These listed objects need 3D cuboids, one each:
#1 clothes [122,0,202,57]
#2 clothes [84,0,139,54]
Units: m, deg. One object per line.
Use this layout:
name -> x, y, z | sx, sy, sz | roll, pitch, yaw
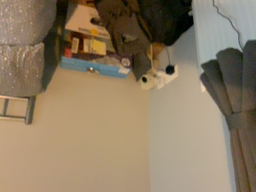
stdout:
clothes -> 0.190, -0.500, 1.370 | 0.320, 0.260, 0.430 | 8, 159, -20
clothes -> -0.090, -0.500, 1.450 | 0.320, 0.300, 0.300 | -1, 160, 5
